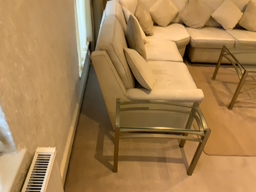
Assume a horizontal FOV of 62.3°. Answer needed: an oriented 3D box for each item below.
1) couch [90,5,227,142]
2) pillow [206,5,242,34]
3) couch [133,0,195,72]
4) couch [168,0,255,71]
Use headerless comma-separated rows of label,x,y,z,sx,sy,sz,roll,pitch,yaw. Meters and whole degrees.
couch,0.150,-0.310,2.200,0.950,0.830,1.280,3,36,-5
pillow,1.480,-1.160,3.260,0.440,0.340,0.170,-8,68,-47
couch,0.460,-0.920,3.090,0.280,0.810,0.800,-20,43,-31
couch,1.740,-1.000,3.360,1.920,0.810,0.970,2,36,-5
